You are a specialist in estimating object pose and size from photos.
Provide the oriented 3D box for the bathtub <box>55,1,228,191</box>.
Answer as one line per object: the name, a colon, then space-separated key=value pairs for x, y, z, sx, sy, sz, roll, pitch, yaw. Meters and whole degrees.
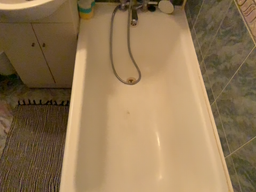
bathtub: x=0.010 y=0.120 z=1.310 sx=0.660 sy=0.600 sz=1.390 roll=-1 pitch=58 yaw=-5
